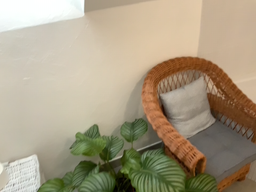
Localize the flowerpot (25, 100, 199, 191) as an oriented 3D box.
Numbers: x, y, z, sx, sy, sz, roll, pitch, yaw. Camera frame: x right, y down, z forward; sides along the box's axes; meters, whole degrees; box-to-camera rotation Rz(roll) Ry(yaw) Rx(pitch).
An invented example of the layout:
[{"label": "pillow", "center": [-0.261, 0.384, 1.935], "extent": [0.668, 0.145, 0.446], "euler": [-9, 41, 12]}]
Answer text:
[{"label": "flowerpot", "center": [-0.140, 0.600, 1.290], "extent": [0.710, 0.630, 0.880], "euler": [-17, 34, -17]}]
